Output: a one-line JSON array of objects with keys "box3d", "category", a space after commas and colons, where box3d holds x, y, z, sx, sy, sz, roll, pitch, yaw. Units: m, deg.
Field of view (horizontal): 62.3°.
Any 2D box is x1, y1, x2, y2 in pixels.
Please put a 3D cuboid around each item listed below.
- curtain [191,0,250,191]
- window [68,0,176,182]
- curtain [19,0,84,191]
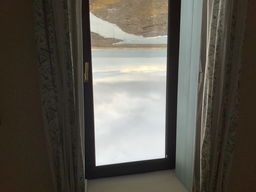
[{"box3d": [0.580, -0.240, 1.340, 0.210, 2.100, 0.180, -3, -169, -13], "category": "curtain"}, {"box3d": [-0.030, -0.190, 1.780, 0.840, 1.800, 0.130, -3, -169, -13], "category": "window"}, {"box3d": [-0.400, -0.180, 1.130, 0.240, 2.100, 0.160, -3, -169, -13], "category": "curtain"}]
